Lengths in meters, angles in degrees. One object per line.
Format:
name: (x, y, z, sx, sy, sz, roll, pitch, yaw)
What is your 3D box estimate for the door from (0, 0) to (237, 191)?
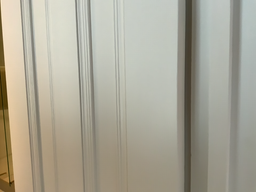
door: (-0.140, -0.400, 0.500, 0.720, 2.080, 0.030, 3, -173, 34)
